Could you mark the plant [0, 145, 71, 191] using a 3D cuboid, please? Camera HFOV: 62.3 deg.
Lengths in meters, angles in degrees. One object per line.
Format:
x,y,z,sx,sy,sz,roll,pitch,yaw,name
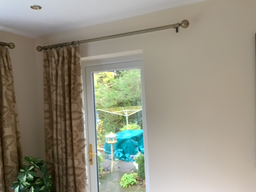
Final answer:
-0.920,1.120,2.070,0.510,1.130,0.510,-1,1,26,plant
